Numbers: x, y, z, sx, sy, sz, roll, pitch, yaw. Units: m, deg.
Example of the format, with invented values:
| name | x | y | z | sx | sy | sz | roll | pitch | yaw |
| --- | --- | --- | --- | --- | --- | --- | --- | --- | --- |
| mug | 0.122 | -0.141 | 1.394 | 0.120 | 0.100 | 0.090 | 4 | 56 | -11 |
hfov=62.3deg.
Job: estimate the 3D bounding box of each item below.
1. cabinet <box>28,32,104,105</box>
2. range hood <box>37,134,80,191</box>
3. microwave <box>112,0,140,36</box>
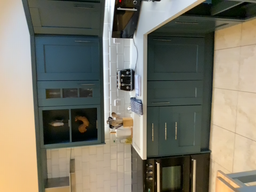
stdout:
| name | x | y | z | sx | sy | sz | roll | pitch | yaw |
| --- | --- | --- | --- | --- | --- | --- | --- | --- | --- |
| cabinet | -0.740 | -0.330 | 2.650 | 0.340 | 0.820 | 0.820 | -153 | 62 | -76 |
| range hood | -0.890 | 0.950 | 2.790 | 0.320 | 0.470 | 0.790 | -151 | 60 | -75 |
| microwave | -0.040 | -1.010 | 2.610 | 0.430 | 0.250 | 0.300 | 103 | 161 | -49 |
